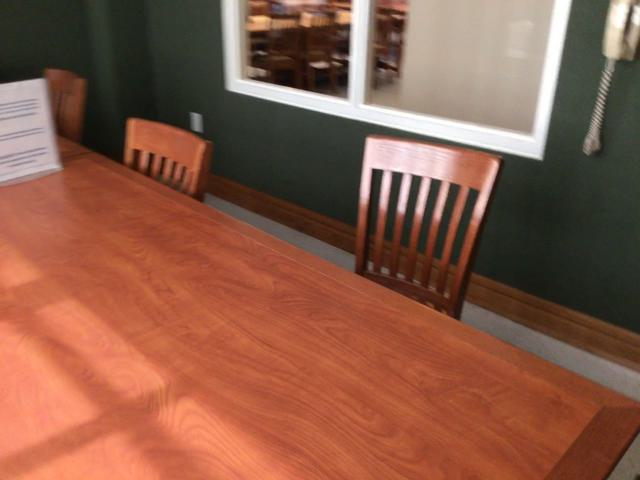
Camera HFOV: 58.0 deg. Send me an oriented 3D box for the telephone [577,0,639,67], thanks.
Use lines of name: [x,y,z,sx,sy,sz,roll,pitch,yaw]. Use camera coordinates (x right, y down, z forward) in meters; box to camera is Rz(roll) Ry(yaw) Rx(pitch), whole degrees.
telephone: [0.910,-0.670,1.760,0.160,0.250,0.110,23,33,39]
